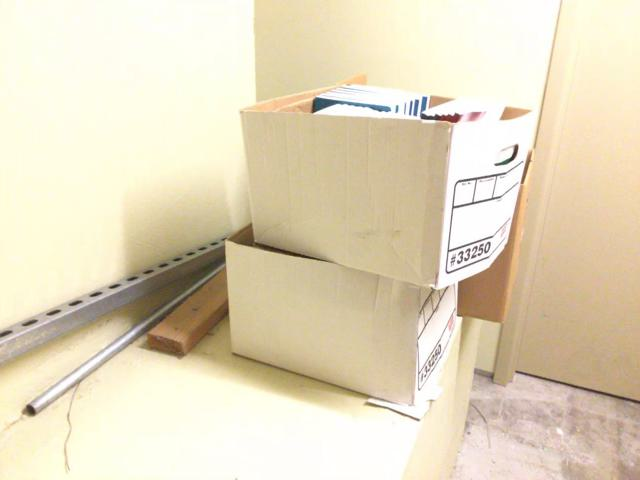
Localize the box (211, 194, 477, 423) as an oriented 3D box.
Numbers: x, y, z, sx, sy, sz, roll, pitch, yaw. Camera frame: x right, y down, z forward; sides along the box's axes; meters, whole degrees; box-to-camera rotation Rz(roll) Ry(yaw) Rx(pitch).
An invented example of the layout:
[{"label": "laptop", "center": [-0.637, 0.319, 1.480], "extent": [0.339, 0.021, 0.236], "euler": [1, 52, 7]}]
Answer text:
[{"label": "box", "center": [0.060, 0.100, 1.120], "extent": [0.400, 0.250, 0.320], "euler": [9, 25, 24]}]

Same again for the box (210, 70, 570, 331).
[{"label": "box", "center": [0.120, -0.120, 1.030], "extent": [0.470, 0.290, 0.380], "euler": [17, 29, 36]}]

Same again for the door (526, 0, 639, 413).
[{"label": "door", "center": [1.140, -0.080, 1.720], "extent": [0.840, 1.440, 0.090], "euler": [9, 25, 23]}]
